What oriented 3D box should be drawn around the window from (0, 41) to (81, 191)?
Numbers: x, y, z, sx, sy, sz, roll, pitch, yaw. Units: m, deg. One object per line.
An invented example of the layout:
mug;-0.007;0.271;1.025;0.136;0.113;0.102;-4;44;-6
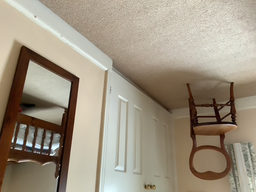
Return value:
window;-0.430;0.550;0.860;0.020;1.600;0.430;-13;153;30
